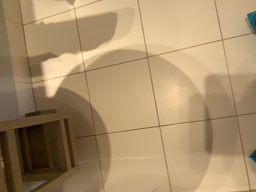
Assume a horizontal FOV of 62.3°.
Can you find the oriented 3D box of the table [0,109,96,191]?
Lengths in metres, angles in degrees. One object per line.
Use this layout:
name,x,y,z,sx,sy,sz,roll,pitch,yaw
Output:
table,-0.400,0.260,0.810,0.270,0.610,0.330,-12,87,15
